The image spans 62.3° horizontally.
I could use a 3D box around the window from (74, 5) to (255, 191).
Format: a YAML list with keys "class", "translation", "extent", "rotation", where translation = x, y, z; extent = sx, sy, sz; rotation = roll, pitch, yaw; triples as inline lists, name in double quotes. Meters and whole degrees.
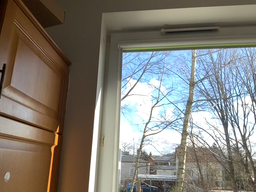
- class: "window"
  translation: [0.340, 0.650, 1.140]
  extent: [1.230, 2.470, 0.240]
  rotation: [2, -17, -1]
